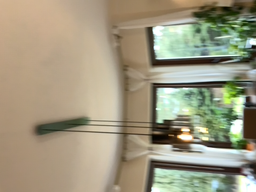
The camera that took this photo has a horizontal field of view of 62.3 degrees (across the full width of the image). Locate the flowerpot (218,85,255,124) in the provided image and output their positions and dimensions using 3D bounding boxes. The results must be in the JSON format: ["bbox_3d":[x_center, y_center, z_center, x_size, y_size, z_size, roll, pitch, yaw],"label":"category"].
[{"bbox_3d":[1.780,0.130,3.510,0.270,0.510,0.620,-7,-83,-76],"label":"flowerpot"}]

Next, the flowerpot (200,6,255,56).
[{"bbox_3d":[1.530,-0.920,3.050,0.530,0.900,0.370,67,-153,-56],"label":"flowerpot"}]
